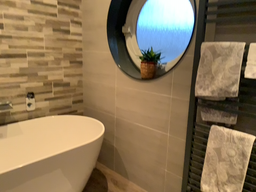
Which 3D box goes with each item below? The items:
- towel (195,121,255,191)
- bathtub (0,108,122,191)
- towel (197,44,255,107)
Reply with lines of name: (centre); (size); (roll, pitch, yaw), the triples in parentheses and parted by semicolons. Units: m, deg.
towel: (0.560, 0.410, 1.250); (0.260, 0.470, 0.070); (13, 17, 41)
bathtub: (-0.860, 0.580, 1.540); (0.800, 0.570, 1.490); (13, 17, 41)
towel: (0.590, -0.120, 1.150); (0.390, 0.310, 0.070); (13, 16, 40)
